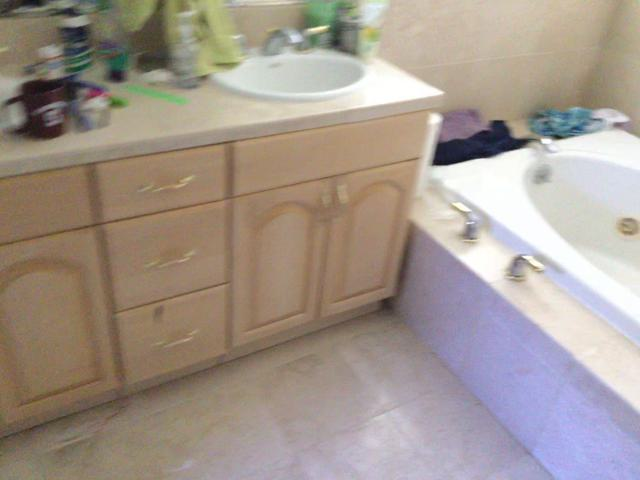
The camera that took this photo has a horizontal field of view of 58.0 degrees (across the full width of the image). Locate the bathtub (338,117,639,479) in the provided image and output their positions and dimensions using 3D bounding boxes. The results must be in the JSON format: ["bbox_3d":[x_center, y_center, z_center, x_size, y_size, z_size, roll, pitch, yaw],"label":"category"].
[{"bbox_3d":[1.070,0.260,1.790,1.210,0.480,1.890,-13,38,-26],"label":"bathtub"}]

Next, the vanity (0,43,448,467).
[{"bbox_3d":[-0.500,-0.030,1.700,1.610,0.810,0.590,-16,39,-29],"label":"vanity"}]

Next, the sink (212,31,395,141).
[{"bbox_3d":[-0.060,-0.470,1.700,0.380,0.160,0.390,-16,39,-29],"label":"sink"}]
